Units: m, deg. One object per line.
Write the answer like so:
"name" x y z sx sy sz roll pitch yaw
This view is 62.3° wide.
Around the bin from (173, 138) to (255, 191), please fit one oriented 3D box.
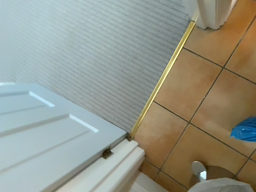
"bin" 0.370 0.420 0.880 0.280 0.290 0.310 31 105 15
